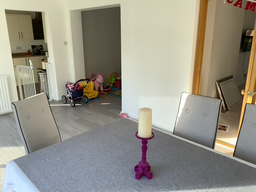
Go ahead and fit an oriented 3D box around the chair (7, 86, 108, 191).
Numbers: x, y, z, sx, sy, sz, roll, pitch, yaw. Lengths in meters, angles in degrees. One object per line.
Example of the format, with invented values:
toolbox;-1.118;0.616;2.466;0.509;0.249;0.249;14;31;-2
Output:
chair;-0.580;0.500;1.930;0.610;1.040;0.490;6;18;19

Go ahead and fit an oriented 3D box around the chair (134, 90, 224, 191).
chair;0.430;0.540;1.840;0.450;1.020;0.640;14;21;37
